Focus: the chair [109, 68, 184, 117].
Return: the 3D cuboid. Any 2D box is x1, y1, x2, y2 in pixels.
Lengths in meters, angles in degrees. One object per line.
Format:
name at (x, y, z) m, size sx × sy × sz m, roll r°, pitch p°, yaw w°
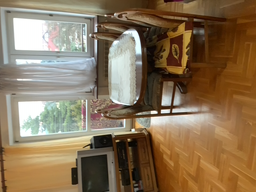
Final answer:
chair at (0.230, -0.040, 2.810) m, size 0.480 × 0.840 × 0.570 m, roll 172°, pitch 96°, yaw -70°
